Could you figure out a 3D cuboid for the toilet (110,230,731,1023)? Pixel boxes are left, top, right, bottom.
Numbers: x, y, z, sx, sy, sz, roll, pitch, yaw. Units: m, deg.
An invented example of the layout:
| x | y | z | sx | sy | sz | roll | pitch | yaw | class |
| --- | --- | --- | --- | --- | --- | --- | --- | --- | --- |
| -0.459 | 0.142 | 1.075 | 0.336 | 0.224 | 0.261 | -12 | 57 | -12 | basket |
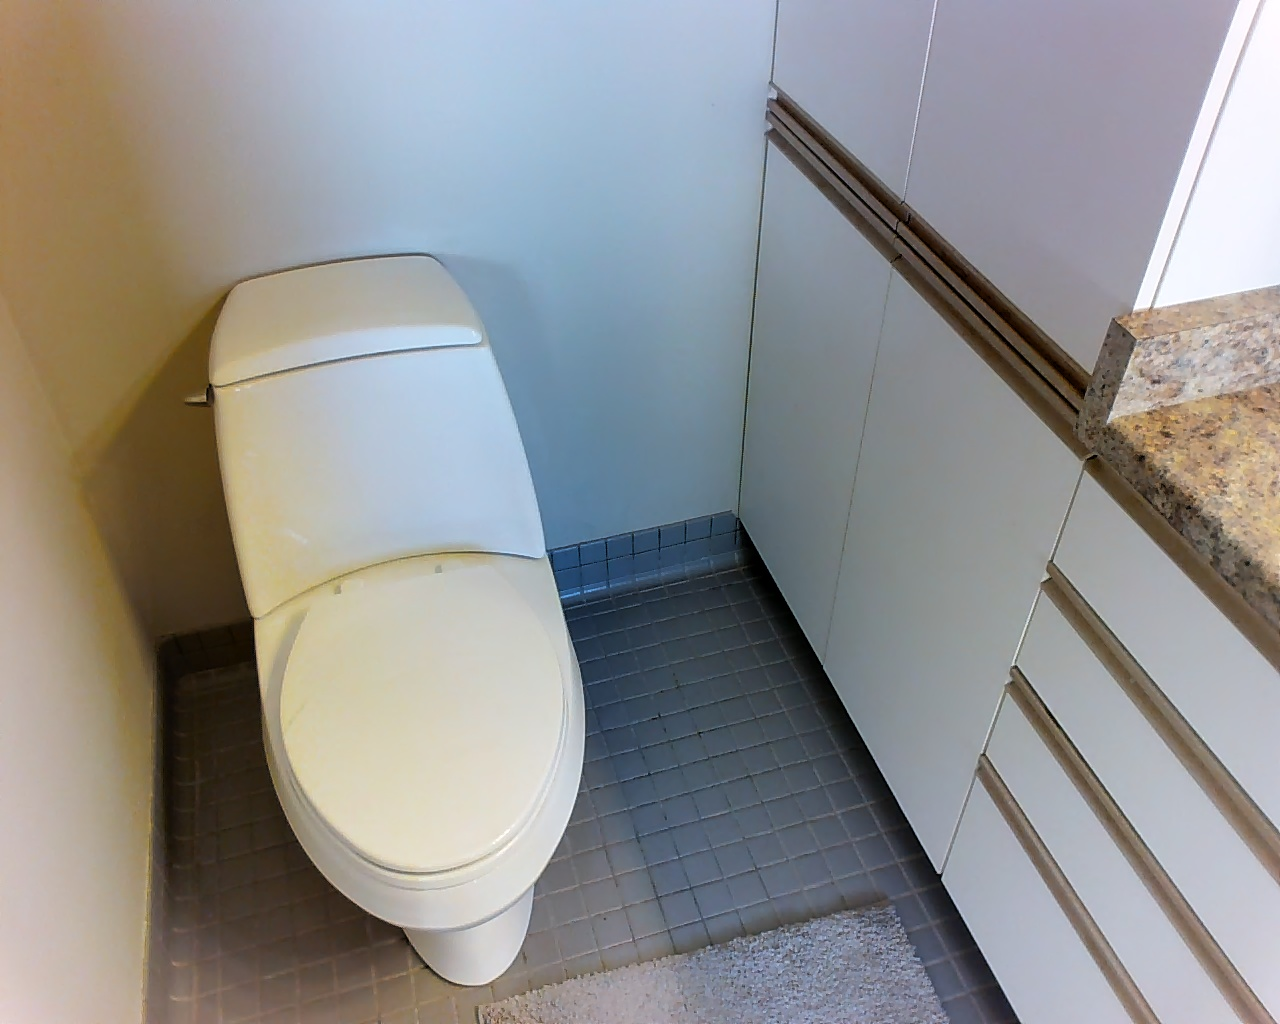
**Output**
| x | y | z | sx | sy | sz | roll | pitch | yaw | class |
| --- | --- | --- | --- | --- | --- | --- | --- | --- | --- |
| -0.280 | 0.170 | 1.420 | 0.530 | 0.730 | 0.750 | -13 | 43 | -13 | toilet |
